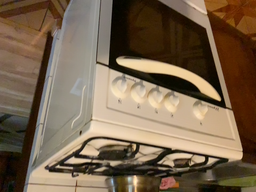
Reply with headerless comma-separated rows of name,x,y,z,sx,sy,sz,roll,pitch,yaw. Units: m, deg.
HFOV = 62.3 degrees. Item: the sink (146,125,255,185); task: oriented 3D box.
sink,0.380,0.310,1.000,0.420,0.160,0.410,17,148,-29
